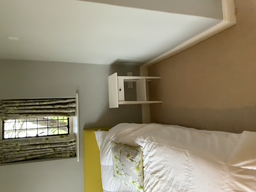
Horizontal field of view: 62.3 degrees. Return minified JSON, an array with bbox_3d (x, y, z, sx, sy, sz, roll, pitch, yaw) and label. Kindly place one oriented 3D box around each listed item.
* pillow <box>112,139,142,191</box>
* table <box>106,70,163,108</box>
[{"bbox_3d":[-0.020,0.760,2.310,0.370,0.200,0.480,-178,87,-68],"label":"pillow"},{"bbox_3d":[0.080,-0.090,3.070,0.420,0.690,0.480,169,99,-68],"label":"table"}]
